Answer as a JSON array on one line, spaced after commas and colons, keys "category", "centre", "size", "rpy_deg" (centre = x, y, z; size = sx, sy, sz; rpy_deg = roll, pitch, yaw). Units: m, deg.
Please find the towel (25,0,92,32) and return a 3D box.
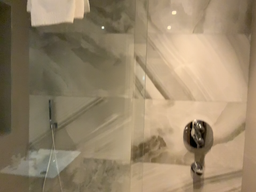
[{"category": "towel", "centre": [-0.290, -0.390, 0.910], "size": [0.240, 0.190, 0.130], "rpy_deg": [3, 4, 6]}]
